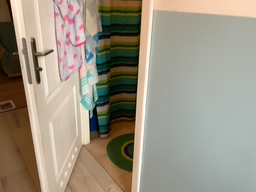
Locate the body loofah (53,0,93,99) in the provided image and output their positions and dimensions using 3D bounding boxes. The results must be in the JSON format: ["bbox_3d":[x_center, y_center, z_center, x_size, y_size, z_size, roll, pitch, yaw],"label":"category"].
[{"bbox_3d":[-0.340,-0.560,1.370,0.160,1.060,0.460,1,24,-4],"label":"body loofah"}]
